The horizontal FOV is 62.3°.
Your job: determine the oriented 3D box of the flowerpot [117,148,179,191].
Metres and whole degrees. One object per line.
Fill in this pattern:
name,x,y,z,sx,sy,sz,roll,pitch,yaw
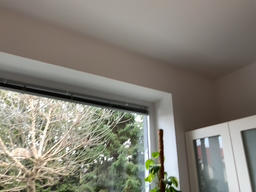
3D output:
flowerpot,0.160,0.860,1.790,0.360,0.760,0.390,14,-25,-34
